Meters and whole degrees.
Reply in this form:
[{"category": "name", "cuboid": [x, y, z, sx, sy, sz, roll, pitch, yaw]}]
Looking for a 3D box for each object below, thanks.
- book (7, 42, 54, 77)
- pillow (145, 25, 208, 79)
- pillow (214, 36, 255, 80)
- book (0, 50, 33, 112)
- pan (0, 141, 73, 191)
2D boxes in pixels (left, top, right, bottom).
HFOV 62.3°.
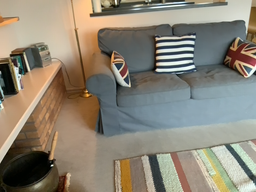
[{"category": "book", "cuboid": [-1.100, -0.440, 2.460, 0.300, 0.260, 0.460, -5, 26, -1]}, {"category": "pillow", "cuboid": [0.470, -0.430, 2.120, 0.480, 0.380, 0.130, 17, 24, -11]}, {"category": "pillow", "cuboid": [1.040, -0.370, 2.030, 0.130, 0.310, 0.350, 24, 23, -12]}, {"category": "book", "cuboid": [-1.070, -0.050, 1.600, 0.210, 0.300, 1.180, -5, 26, -1]}, {"category": "pan", "cuboid": [-0.720, 0.570, 1.440, 0.580, 0.250, 0.430, -5, 26, -2]}]
